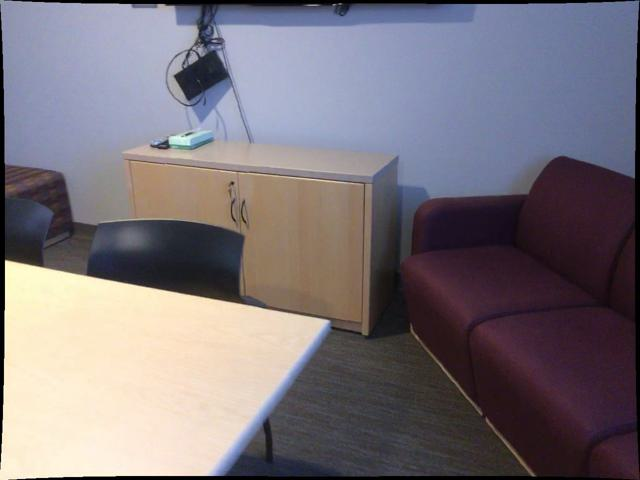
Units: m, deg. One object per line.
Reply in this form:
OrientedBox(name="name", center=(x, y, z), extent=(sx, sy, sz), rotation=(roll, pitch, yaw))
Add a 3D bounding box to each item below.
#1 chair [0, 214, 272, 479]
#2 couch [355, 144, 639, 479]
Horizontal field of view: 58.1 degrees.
OrientedBox(name="chair", center=(-0.489, 0.260, 1.460), extent=(0.499, 0.411, 0.650), rotation=(7, 24, 18))
OrientedBox(name="couch", center=(0.889, 0.341, 1.700), extent=(0.869, 0.781, 1.830), rotation=(-9, 25, -20))
